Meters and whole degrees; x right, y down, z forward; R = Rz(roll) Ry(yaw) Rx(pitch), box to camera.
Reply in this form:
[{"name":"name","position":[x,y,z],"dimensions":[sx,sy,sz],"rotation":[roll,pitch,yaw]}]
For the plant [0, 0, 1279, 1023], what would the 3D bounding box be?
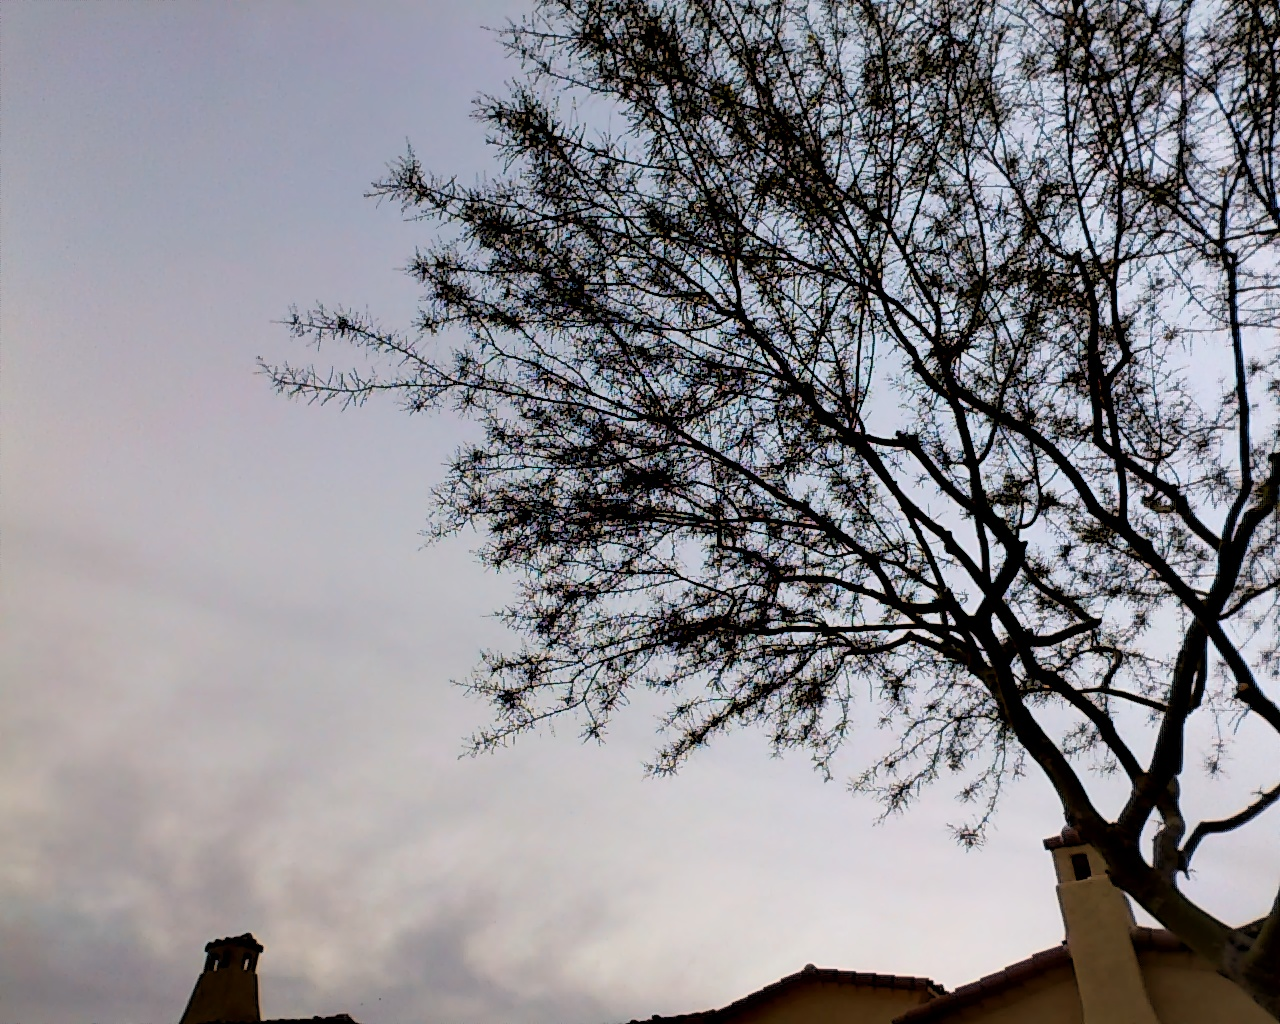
[{"name":"plant","position":[1.739,1.420,3.480],"dimensions":[5.229,4.751,4.840],"rotation":[-22,-45,23]}]
